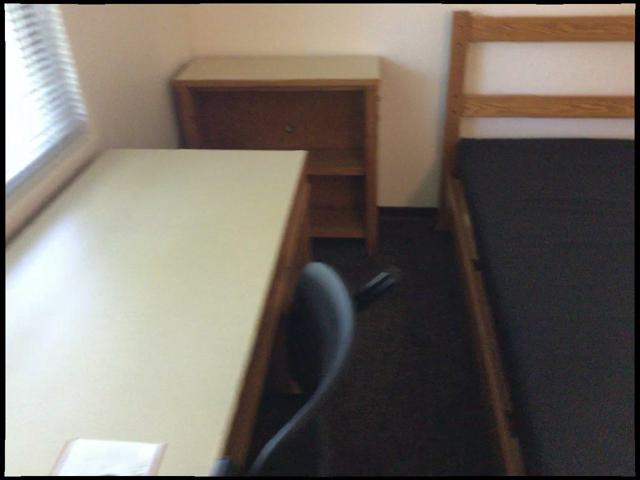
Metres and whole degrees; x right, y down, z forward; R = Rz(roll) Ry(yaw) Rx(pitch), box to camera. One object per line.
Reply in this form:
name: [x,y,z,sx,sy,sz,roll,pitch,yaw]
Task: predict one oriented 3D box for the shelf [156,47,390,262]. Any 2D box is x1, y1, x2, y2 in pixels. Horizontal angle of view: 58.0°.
shelf: [-0.150,-0.361,2.420,0.828,0.751,0.410,4,34,7]
